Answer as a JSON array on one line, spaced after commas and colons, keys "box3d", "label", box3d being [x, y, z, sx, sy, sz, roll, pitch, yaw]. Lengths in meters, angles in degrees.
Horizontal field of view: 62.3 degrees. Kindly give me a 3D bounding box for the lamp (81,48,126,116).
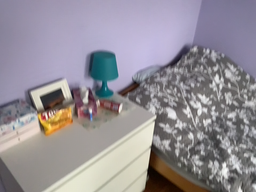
[{"box3d": [-0.170, -0.100, 1.470, 0.200, 0.390, 0.200, 26, 37, 31], "label": "lamp"}]
